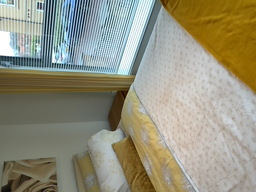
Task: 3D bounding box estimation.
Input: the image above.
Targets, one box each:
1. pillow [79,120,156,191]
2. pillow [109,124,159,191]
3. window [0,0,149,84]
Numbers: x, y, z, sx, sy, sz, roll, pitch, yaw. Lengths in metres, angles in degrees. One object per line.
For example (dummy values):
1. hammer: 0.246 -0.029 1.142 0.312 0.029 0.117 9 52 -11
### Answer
1. pillow: -0.150 0.660 1.930 0.670 0.380 0.560 60 140 46
2. pillow: 0.070 0.600 1.560 0.910 0.160 0.130 64 143 42
3. window: -0.670 -0.580 1.860 0.160 1.540 1.000 64 143 43
